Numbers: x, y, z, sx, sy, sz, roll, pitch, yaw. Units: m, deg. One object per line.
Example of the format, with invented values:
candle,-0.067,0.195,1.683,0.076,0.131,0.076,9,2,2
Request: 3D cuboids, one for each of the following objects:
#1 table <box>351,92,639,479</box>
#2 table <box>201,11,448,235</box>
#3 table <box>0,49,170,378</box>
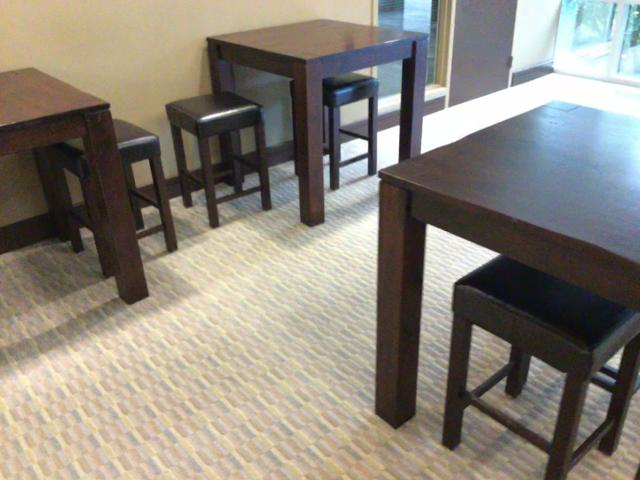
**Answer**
table,0.800,0.190,1.740,0.980,0.920,0.970,-25,35,-33
table,0.040,-0.780,3.490,1.000,0.950,0.980,-25,35,-33
table,-1.370,-0.160,2.440,0.930,1.000,0.960,-25,35,-33
